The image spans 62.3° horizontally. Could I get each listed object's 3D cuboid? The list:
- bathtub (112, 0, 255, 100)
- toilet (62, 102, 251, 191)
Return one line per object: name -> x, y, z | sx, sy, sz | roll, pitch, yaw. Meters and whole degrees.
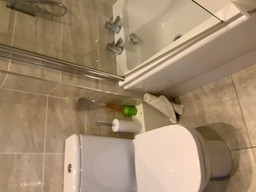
bathtub -> 0.570, -0.560, 1.160 | 1.440, 0.550, 0.700 | -26, 61, 46
toilet -> 0.150, 0.380, 1.220 | 0.630, 0.830, 0.400 | -28, 60, 45
